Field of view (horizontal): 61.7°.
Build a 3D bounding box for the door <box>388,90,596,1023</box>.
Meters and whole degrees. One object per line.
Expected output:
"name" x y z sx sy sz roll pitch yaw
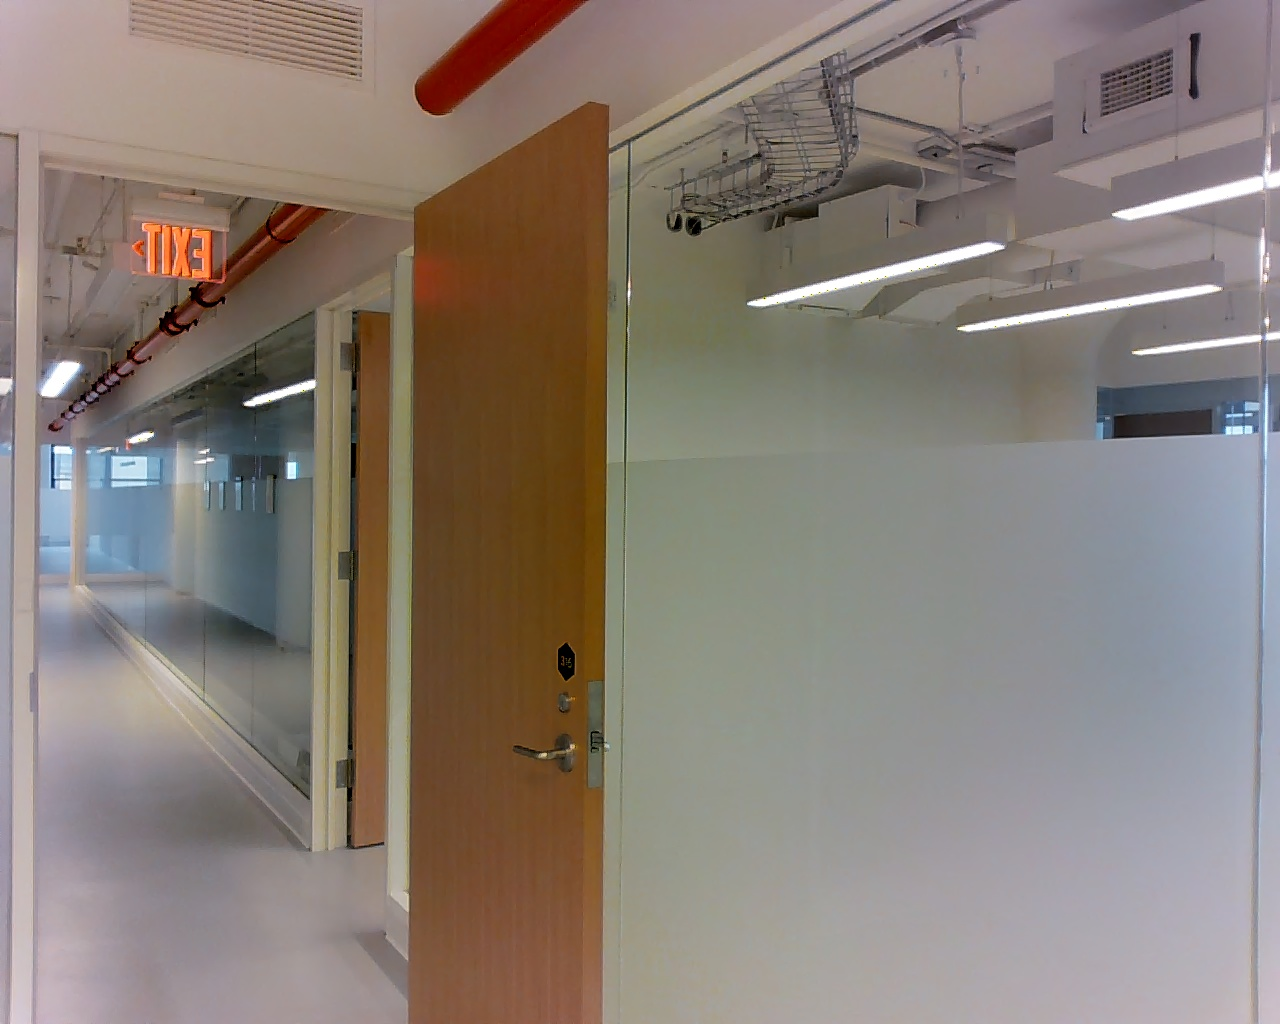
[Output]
"door" -0.370 0.320 2.410 0.070 2.220 0.920 0 0 -32
